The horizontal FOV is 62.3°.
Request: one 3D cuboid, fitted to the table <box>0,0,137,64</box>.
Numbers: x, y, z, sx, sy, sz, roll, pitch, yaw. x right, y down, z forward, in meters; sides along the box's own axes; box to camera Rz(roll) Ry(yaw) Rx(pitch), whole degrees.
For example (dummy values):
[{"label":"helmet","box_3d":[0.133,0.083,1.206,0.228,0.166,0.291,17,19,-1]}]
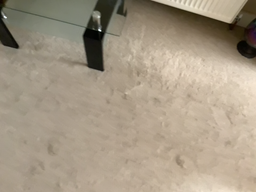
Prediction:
[{"label":"table","box_3d":[-0.400,-0.600,1.370,0.860,0.390,0.440,15,67,1]}]
